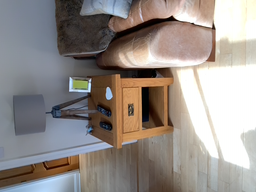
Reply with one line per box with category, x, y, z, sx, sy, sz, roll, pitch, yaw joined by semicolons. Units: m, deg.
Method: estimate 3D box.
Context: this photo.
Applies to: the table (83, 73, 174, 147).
table;-0.010;0.070;1.950;0.600;0.600;0.540;6;99;56
